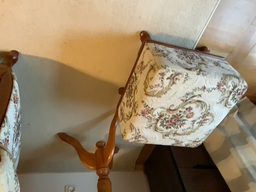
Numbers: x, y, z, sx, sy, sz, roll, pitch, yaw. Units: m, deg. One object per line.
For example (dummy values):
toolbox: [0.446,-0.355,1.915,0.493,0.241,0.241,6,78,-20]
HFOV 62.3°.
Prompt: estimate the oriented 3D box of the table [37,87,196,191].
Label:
table: [-0.130,0.420,1.120,0.600,0.630,0.600,7,130,-18]
